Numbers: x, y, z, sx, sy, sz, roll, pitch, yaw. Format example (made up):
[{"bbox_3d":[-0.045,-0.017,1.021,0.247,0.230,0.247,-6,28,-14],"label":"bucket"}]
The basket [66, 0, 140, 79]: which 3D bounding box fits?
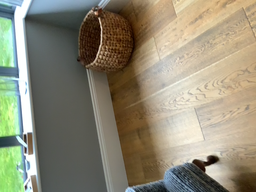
[{"bbox_3d":[-0.260,-0.530,1.970,0.530,0.370,0.560,-28,69,46],"label":"basket"}]
